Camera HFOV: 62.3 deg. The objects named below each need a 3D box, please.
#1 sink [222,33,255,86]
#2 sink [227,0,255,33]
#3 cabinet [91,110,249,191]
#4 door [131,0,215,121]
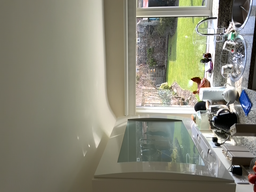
[{"bbox_3d":[1.120,-0.370,2.080,0.440,0.180,0.460,-76,-14,-75],"label":"sink"},{"bbox_3d":[1.120,-0.830,1.960,0.470,0.170,0.460,-77,-13,-74],"label":"sink"},{"bbox_3d":[0.230,0.420,1.570,1.000,0.770,0.360,-74,-16,-77],"label":"cabinet"},{"bbox_3d":[0.500,-0.630,2.550,0.180,0.920,1.900,-77,-13,-75],"label":"door"}]
